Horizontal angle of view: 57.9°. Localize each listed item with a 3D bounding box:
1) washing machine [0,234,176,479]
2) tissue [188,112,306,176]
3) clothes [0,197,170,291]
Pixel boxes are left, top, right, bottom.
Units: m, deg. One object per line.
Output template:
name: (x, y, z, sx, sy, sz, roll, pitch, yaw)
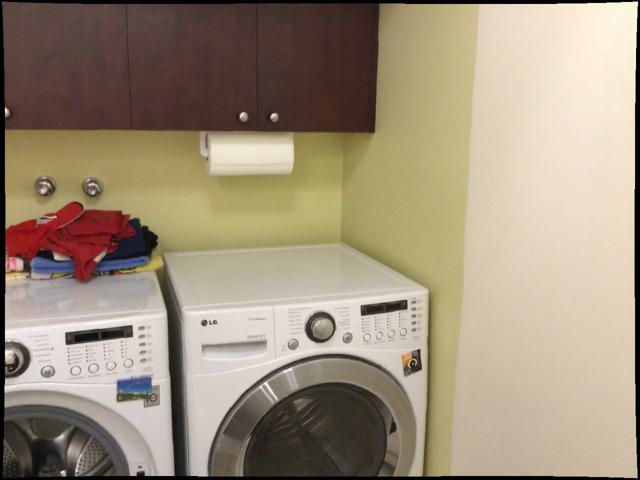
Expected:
washing machine: (-0.769, 0.581, 1.650, 0.639, 1.011, 0.810, -4, 14, -18)
tissue: (-0.240, -0.320, 1.890, 0.350, 0.190, 0.190, -4, 14, -18)
clothes: (-0.699, 0.000, 1.700, 0.470, 0.190, 0.280, -4, 14, -18)
